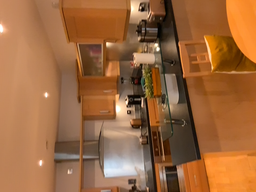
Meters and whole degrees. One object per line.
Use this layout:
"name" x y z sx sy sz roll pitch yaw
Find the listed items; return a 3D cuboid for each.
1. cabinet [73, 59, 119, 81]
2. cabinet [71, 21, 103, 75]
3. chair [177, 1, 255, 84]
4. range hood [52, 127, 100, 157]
"cabinet" -0.600 -0.500 4.030 0.220 0.830 0.340 109 159 -68
"cabinet" -0.630 -0.720 3.440 1.020 0.430 0.340 109 159 -68
"chair" 0.980 -0.410 1.750 0.500 0.960 0.410 105 162 -63
"range hood" -0.900 0.830 3.810 0.450 0.790 0.410 106 161 -64
